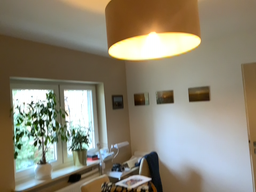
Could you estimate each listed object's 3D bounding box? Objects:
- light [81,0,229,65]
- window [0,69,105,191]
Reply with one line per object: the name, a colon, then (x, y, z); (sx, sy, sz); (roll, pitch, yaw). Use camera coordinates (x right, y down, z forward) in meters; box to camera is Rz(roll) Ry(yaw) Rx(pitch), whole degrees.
light: (0.170, -0.580, 1.330); (0.560, 0.710, 0.590); (-12, 83, 44)
window: (-1.000, 0.380, 3.000); (0.270, 1.560, 1.350); (-5, 88, 36)
